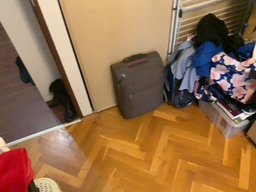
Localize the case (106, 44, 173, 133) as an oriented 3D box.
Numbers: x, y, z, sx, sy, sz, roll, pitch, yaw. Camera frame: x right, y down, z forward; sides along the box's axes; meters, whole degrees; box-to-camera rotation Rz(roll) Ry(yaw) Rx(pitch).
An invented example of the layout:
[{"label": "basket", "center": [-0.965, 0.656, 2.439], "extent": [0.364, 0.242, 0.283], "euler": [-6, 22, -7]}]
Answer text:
[{"label": "case", "center": [0.090, -0.040, 1.720], "extent": [0.380, 0.610, 0.290], "euler": [-20, 51, -13]}]
